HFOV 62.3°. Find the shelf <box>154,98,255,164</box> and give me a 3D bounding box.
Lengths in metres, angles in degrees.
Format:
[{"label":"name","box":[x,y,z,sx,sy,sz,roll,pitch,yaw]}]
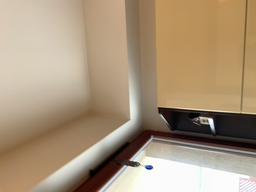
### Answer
[{"label":"shelf","box":[0.580,0.170,1.130,0.290,0.820,0.230,-24,-67,-60]}]
